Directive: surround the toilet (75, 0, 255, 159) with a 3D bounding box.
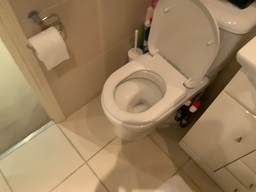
[{"bbox_3d":[0.170,-0.120,1.180,0.670,0.810,0.410,-35,68,-21],"label":"toilet"}]
